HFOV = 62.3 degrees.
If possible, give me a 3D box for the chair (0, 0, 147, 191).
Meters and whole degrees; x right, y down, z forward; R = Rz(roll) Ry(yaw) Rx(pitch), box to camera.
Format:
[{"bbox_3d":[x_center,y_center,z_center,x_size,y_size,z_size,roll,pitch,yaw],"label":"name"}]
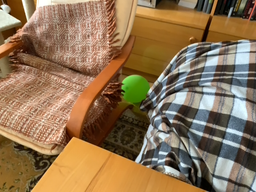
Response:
[{"bbox_3d":[-0.380,-0.210,1.110,0.680,0.960,0.840,17,44,14],"label":"chair"}]
